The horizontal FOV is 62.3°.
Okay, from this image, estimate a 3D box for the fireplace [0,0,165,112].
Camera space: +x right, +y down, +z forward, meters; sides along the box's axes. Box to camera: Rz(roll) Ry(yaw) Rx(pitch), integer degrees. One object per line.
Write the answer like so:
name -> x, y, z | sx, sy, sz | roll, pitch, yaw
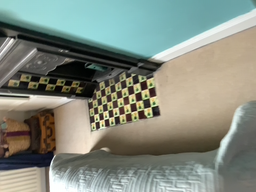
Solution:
fireplace -> -0.650, -0.180, 1.560 | 1.240, 1.330, 0.390 | -17, 75, 42
